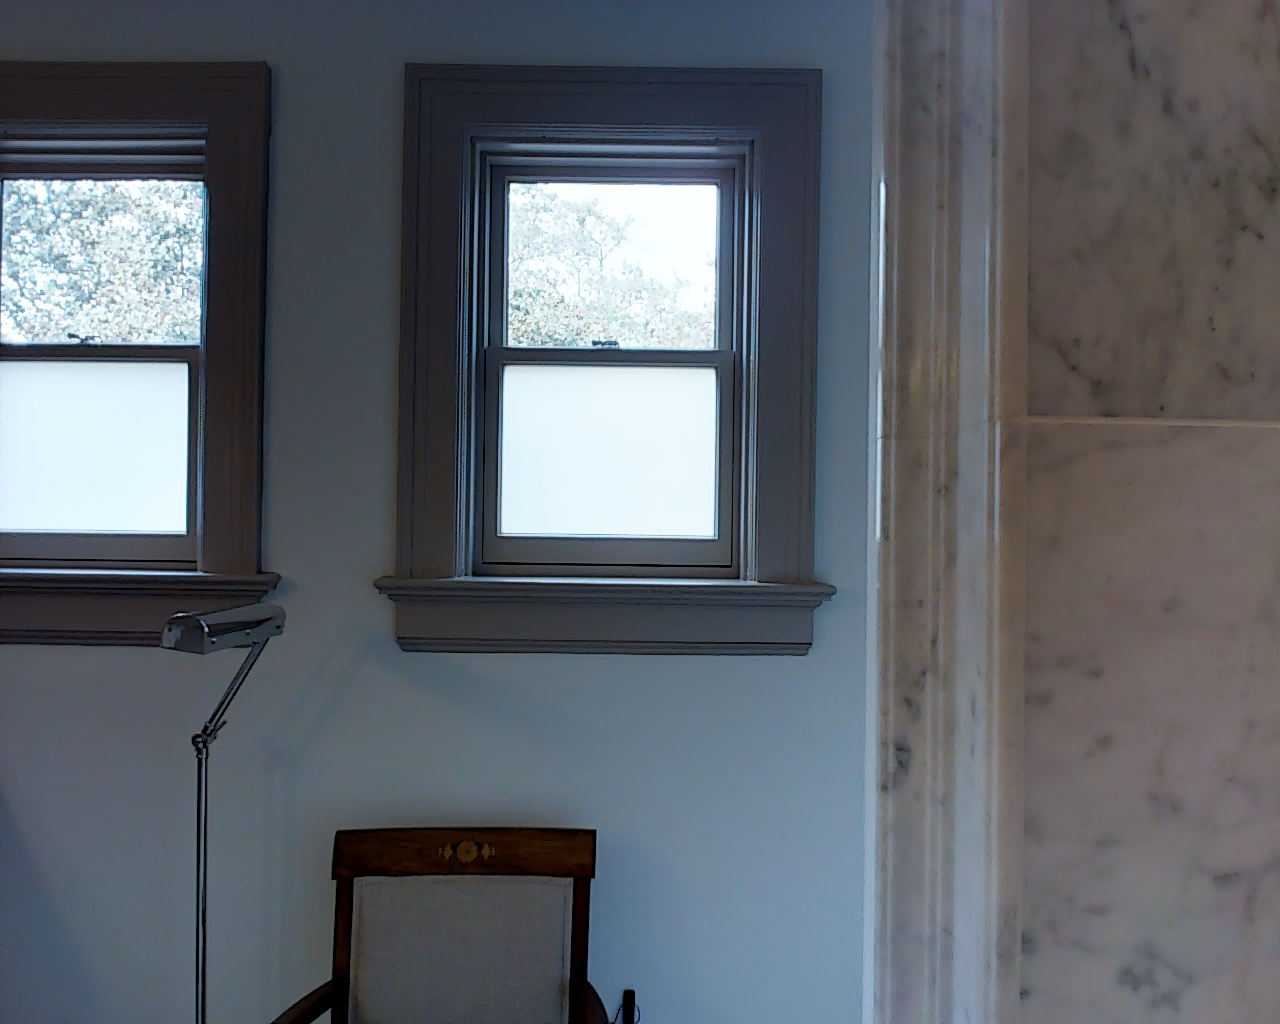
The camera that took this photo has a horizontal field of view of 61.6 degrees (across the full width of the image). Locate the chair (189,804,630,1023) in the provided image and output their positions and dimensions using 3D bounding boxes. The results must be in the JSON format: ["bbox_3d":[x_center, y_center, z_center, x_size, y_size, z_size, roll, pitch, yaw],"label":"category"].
[{"bbox_3d":[-0.330,1.040,1.840,0.610,0.890,0.680,1,0,0],"label":"chair"}]

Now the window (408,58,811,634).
[{"bbox_3d":[-0.060,-0.330,2.250,0.790,1.140,0.230,1,0,0],"label":"window"}]

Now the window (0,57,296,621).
[{"bbox_3d":[-1.180,-0.350,2.280,0.810,1.130,0.240,1,0,0],"label":"window"}]
